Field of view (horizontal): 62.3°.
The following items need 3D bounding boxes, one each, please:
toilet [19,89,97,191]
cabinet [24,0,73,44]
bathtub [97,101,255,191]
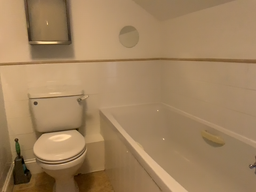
[{"bbox_3d":[-0.530,0.400,1.670,0.420,0.790,0.660,-5,12,-19],"label":"toilet"},{"bbox_3d":[-0.660,-0.790,1.730,0.350,0.700,0.040,-5,12,-19],"label":"cabinet"},{"bbox_3d":[0.300,0.530,1.450,0.690,0.600,1.680,-5,12,-18],"label":"bathtub"}]
